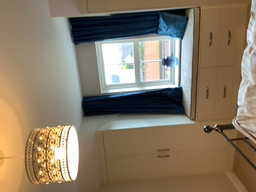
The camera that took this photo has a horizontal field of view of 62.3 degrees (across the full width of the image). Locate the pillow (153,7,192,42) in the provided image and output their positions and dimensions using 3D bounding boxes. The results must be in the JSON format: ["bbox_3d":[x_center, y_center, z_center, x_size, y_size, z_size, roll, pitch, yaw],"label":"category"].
[{"bbox_3d":[0.630,-1.030,3.110,0.510,0.430,0.200,92,173,-71],"label":"pillow"}]

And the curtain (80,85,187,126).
[{"bbox_3d":[0.100,0.150,3.600,0.340,1.710,0.450,-100,6,-69],"label":"curtain"}]
